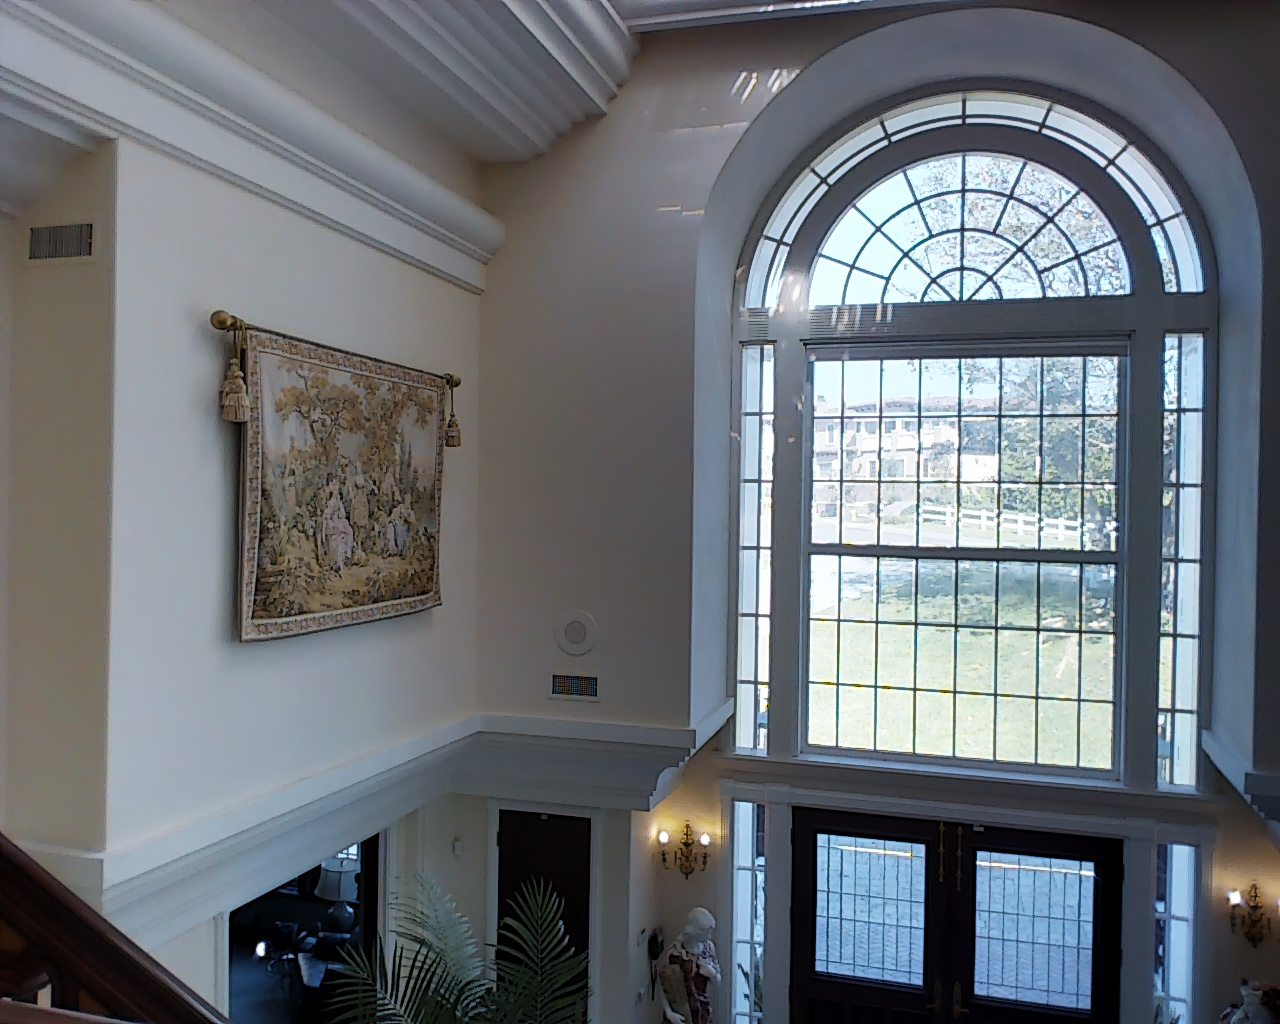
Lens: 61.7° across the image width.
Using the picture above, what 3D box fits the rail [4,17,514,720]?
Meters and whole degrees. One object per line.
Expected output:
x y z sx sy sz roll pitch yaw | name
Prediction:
-2.210 -0.730 6.550 2.330 3.540 1.730 1 0 17 | rail
